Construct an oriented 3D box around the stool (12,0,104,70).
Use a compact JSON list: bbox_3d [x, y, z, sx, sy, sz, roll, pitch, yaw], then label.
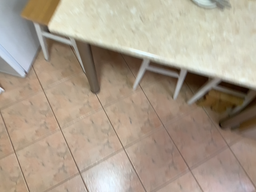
[{"bbox_3d":[-0.390,-0.460,1.350,0.340,0.470,0.310,22,72,5],"label":"stool"}]
